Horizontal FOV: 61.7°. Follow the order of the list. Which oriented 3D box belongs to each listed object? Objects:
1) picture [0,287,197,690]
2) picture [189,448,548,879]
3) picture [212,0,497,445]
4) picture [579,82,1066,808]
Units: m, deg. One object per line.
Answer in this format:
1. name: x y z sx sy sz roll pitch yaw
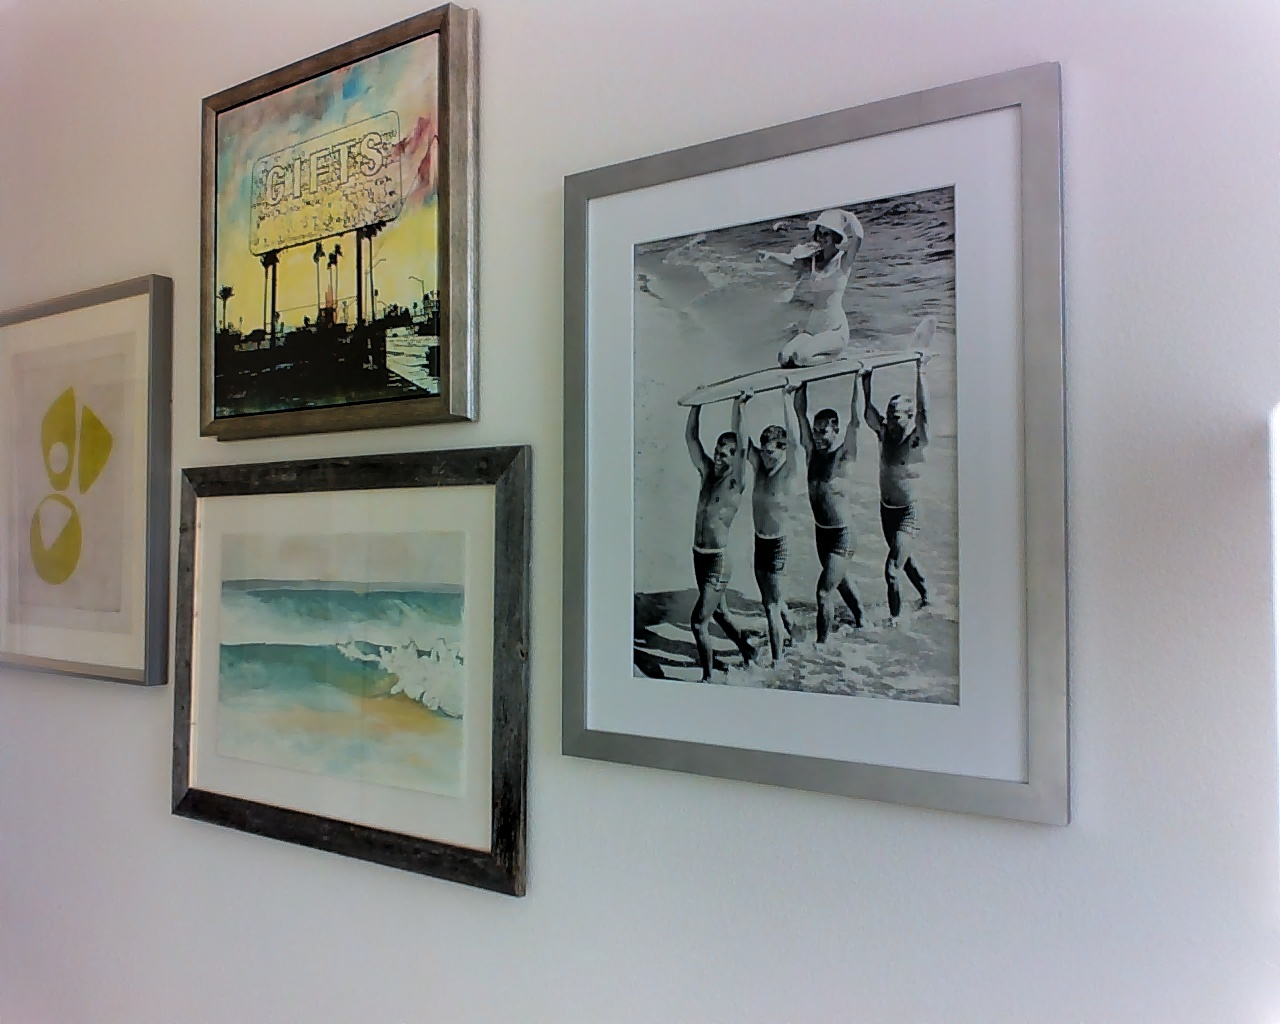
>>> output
1. picture: -1.189 -0.040 2.300 0.720 0.780 0.050 -1 -2 34
2. picture: -0.500 0.230 1.830 0.850 0.630 0.040 -1 -2 34
3. picture: -0.510 -0.470 1.840 0.650 0.670 0.060 -1 -2 34
4. picture: 0.190 -0.070 1.360 0.650 0.790 0.030 -1 -2 34
